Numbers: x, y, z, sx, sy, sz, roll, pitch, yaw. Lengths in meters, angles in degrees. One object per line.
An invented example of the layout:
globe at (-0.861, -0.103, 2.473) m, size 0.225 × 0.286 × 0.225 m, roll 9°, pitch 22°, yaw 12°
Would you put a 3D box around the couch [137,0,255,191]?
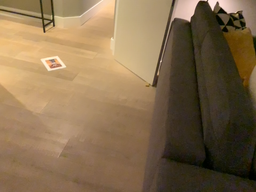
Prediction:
couch at (0.760, 0.010, 1.590) m, size 1.060 × 0.930 × 2.040 m, roll 13°, pitch 37°, yaw 4°
